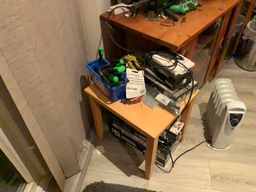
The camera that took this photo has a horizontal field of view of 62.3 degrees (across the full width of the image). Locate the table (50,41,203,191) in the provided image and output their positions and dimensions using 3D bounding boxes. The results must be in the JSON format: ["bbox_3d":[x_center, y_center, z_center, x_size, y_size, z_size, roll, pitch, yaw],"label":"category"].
[{"bbox_3d":[-0.020,0.080,1.320,0.700,0.480,0.470,32,53,29],"label":"table"}]

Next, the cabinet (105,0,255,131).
[{"bbox_3d":[0.510,-0.480,1.700,0.620,0.710,1.230,32,53,29],"label":"cabinet"}]
